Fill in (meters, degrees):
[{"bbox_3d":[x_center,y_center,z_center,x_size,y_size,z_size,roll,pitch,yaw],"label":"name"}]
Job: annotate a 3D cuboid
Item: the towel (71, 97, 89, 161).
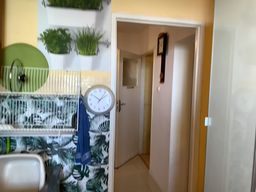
[{"bbox_3d":[-0.360,0.240,1.580,0.120,0.450,0.110,1,4,-12],"label":"towel"}]
